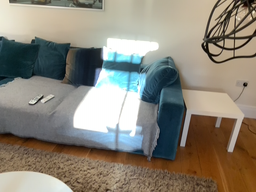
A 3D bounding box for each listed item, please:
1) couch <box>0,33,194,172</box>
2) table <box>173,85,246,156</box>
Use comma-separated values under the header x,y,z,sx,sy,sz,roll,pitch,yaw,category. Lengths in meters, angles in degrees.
x,y,z,sx,sy,sz,roll,pitch,yaw,category
-1.120,-0.170,2.650,3.490,0.860,1.350,7,25,8,couch
0.870,0.250,2.450,0.600,0.510,0.600,7,25,7,table
